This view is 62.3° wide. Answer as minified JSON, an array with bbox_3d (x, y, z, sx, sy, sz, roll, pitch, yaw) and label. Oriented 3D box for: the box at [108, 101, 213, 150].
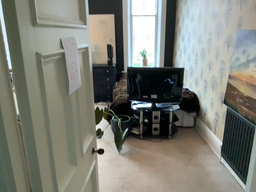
[{"bbox_3d":[0.450,0.440,3.270,1.460,0.570,0.540,0,17,0],"label":"box"}]
